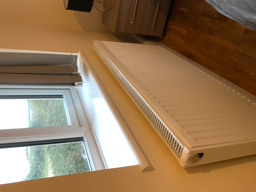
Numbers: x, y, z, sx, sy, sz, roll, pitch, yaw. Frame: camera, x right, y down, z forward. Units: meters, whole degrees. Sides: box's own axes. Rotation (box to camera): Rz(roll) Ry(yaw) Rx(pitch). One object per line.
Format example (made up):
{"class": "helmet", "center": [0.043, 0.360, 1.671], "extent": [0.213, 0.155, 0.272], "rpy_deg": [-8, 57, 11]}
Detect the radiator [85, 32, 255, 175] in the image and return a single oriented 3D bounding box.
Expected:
{"class": "radiator", "center": [0.220, -0.140, 1.230], "extent": [1.310, 0.670, 0.100], "rpy_deg": [-128, 43, -53]}

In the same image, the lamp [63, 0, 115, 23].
{"class": "lamp", "center": [-0.350, -0.820, 1.850], "extent": [0.300, 0.380, 0.250], "rpy_deg": [-125, 41, -52]}
